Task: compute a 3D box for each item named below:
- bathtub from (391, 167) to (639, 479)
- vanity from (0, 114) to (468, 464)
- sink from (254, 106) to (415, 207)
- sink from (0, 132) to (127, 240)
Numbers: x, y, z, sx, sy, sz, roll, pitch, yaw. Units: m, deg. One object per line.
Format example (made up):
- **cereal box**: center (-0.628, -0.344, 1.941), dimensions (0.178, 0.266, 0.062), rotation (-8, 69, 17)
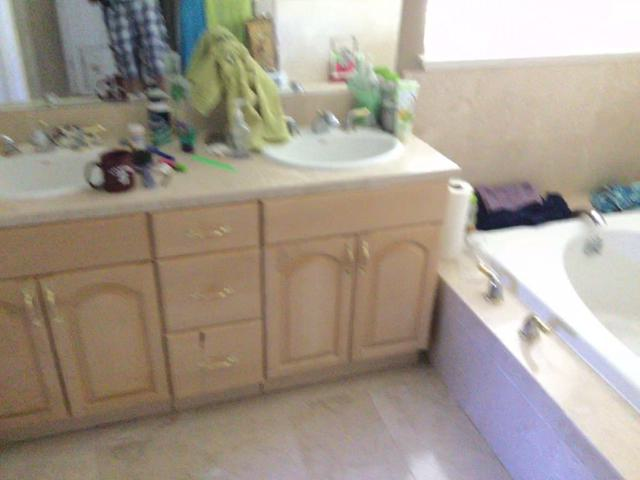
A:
- **bathtub**: center (1.230, 0.430, 1.750), dimensions (1.330, 0.530, 2.020), rotation (-6, 30, -14)
- **vanity**: center (-0.400, 0.090, 2.070), dimensions (1.590, 0.800, 0.670), rotation (-8, 30, -16)
- **sink**: center (0.030, -0.300, 1.960), dimensions (0.420, 0.170, 0.420), rotation (-8, 30, -16)
- **sink**: center (-0.800, -0.170, 1.720), dimensions (0.400, 0.180, 0.320), rotation (-8, 30, -16)
